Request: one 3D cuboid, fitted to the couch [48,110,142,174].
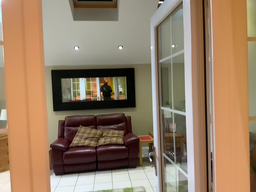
[{"bbox_3d":[-0.650,0.880,4.430,1.690,0.980,1.030,-2,2,-7],"label":"couch"}]
